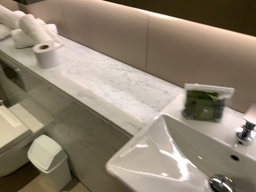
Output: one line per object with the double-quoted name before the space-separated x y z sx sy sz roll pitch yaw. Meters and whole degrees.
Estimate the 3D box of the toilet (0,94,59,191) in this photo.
"toilet" -0.870 0.370 1.490 0.400 0.460 0.520 29 48 31

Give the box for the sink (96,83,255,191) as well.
"sink" 0.280 0.230 0.640 0.570 0.140 0.470 28 48 31
